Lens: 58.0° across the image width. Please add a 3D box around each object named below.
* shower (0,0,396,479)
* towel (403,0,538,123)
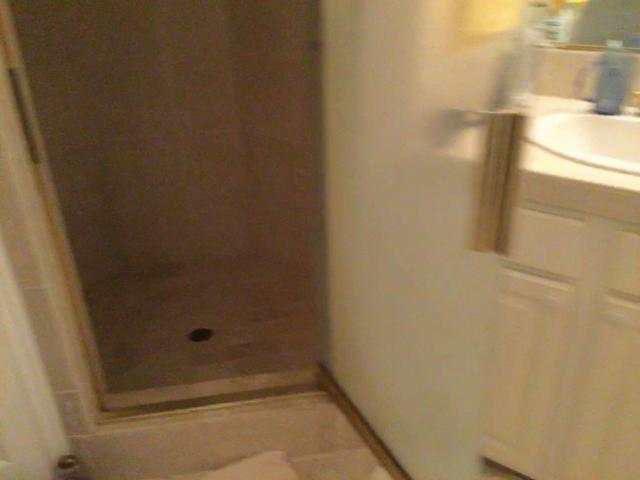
[{"bbox_3d":[-0.490,-0.210,1.810,1.180,1.430,1.180,-4,25,-5],"label":"shower"},{"bbox_3d":[0.360,-0.470,1.340,0.130,0.300,0.410,17,31,34],"label":"towel"}]
